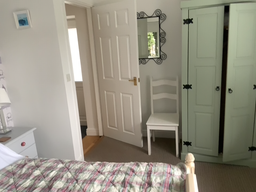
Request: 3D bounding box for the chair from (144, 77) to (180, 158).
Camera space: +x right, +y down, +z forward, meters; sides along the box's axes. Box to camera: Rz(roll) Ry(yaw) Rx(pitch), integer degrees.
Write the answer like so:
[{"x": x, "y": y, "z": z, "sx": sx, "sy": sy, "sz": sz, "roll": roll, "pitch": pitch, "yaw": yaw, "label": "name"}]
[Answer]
[{"x": 0.490, "y": 0.260, "z": 2.890, "sx": 0.420, "sy": 0.940, "sz": 0.570, "roll": 1, "pitch": 15, "yaw": 14, "label": "chair"}]
